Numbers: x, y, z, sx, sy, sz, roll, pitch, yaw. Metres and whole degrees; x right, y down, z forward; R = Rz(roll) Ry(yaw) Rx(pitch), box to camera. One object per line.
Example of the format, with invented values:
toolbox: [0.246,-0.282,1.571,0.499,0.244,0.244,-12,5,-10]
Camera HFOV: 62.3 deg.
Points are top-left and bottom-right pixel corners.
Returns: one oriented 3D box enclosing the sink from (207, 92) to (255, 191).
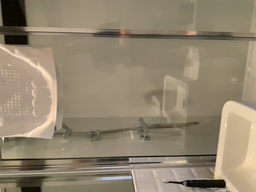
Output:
sink: [0.480,0.250,0.670,0.530,0.180,0.420,-113,24,-76]
